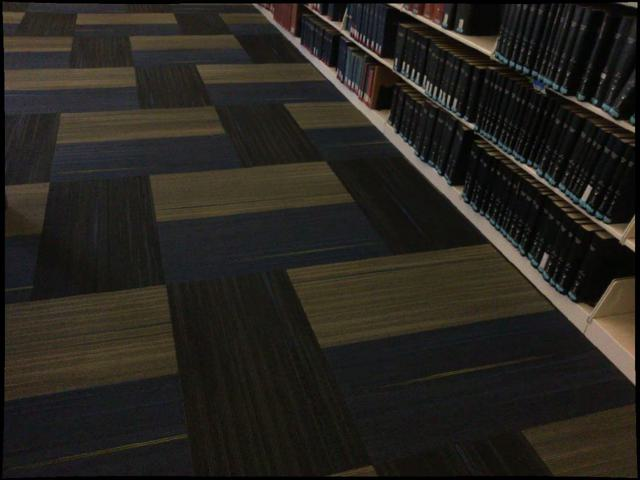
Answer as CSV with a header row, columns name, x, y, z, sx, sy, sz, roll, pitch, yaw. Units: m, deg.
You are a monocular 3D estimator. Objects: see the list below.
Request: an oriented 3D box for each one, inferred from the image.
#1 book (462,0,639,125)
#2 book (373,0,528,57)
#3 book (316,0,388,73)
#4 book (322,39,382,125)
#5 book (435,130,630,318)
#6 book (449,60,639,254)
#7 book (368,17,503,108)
name,x,y,z,sx,sy,sz,roll,pitch,yaw
book,0.798,-0.702,2.060,0.150,0.311,0.770,-8,34,-17
book,0.598,-1.193,2.860,0.279,0.291,0.980,-8,34,-17
book,0.180,-1.394,3.720,0.090,0.351,0.970,-8,34,-17
book,0.190,-1.053,3.780,0.110,0.341,0.730,-8,34,-17
book,0.798,-0.120,2.370,0.140,0.311,0.990,-8,34,-17
book,0.828,-0.371,2.200,0.130,0.361,0.990,-8,34,-17
book,0.539,-0.932,2.930,0.180,0.170,1.040,-8,34,-17
